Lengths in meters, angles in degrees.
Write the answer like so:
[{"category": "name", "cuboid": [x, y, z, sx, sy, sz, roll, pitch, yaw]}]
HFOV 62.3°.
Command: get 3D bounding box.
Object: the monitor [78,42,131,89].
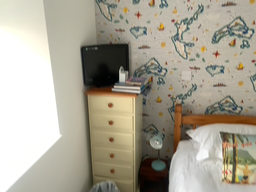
[{"category": "monitor", "cuboid": [-0.180, -0.280, 1.860, 0.500, 0.350, 0.040, -13, 22, -35]}]
